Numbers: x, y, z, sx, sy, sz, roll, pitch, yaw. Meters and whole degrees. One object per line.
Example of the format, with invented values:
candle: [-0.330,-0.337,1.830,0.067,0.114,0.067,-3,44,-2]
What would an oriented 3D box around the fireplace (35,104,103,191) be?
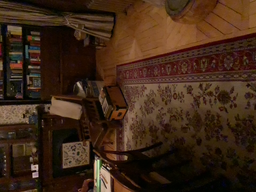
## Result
fireplace: [-1.240,1.190,4.440,0.780,1.190,1.960,4,95,62]
